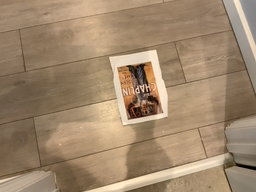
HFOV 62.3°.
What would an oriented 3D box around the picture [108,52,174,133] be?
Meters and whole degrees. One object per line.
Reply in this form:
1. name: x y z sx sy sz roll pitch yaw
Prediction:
1. picture: 0.050 -0.020 0.870 0.210 0.030 0.300 -11 80 -7
